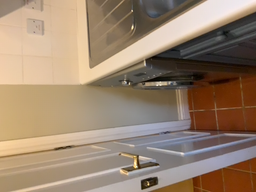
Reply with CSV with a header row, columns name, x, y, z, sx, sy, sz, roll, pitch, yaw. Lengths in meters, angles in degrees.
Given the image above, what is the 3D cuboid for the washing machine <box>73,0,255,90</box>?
name,x,y,z,sx,sy,sz,roll,pitch,yaw
washing machine,0.210,-0.390,1.270,0.610,0.880,0.620,-12,82,58
